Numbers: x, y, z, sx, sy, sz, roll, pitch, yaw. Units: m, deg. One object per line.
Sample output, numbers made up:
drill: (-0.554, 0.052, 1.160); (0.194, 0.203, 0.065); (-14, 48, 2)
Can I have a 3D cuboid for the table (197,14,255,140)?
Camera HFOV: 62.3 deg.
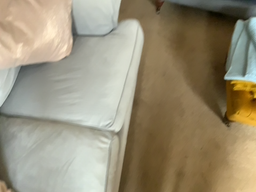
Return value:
table: (0.940, -0.060, 1.320); (0.850, 0.360, 0.620); (14, 63, 3)
